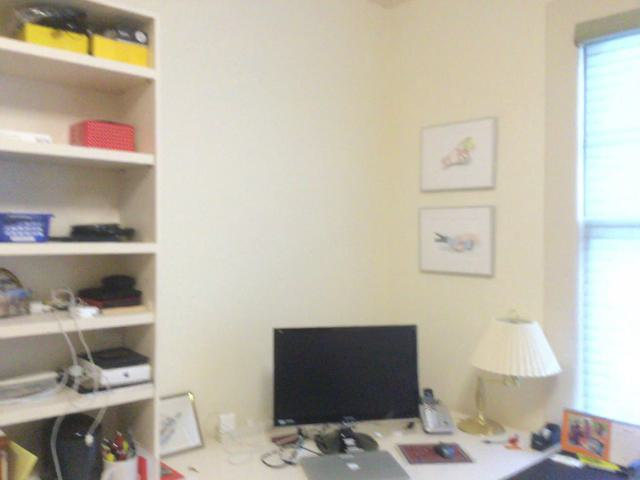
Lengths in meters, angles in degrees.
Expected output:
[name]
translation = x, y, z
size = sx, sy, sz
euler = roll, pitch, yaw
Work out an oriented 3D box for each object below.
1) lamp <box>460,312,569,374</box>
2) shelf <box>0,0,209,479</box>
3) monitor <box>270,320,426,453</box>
[lamp]
translation = 0.720, 0.370, 2.140
size = 0.290, 0.170, 0.270
euler = 5, -2, -43
[shelf]
translation = -0.720, 0.020, 1.630
size = 0.620, 1.430, 0.330
euler = 5, -2, -43
[monitor]
translation = 0.100, 0.530, 2.120
size = 0.520, 0.430, 0.170
euler = 4, -1, -13
